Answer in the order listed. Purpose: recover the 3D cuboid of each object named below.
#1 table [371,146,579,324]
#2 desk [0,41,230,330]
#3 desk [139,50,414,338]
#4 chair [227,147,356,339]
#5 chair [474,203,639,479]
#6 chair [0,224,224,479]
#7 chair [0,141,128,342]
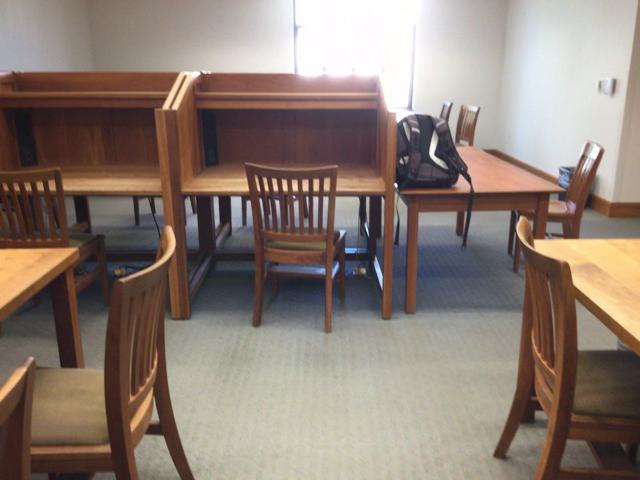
[{"bbox_3d":[0.890,-0.110,3.730,0.960,0.800,1.250,-4,15,0],"label":"table"},{"bbox_3d":[-1.310,-0.360,3.470,1.260,1.450,0.970,-3,15,0],"label":"desk"},{"bbox_3d":[-0.190,-0.340,3.560,1.330,1.450,1.110,-3,15,0],"label":"desk"},{"bbox_3d":[-0.140,-0.010,3.280,0.600,0.930,0.600,-4,15,0],"label":"chair"},{"bbox_3d":[0.870,0.400,1.800,0.620,0.910,0.550,-4,15,0],"label":"chair"},{"bbox_3d":[-0.680,0.480,1.700,0.620,0.910,0.560,-3,15,0],"label":"chair"},{"bbox_3d":[-1.520,-0.020,3.180,0.590,0.940,0.650,-4,15,0],"label":"chair"}]
